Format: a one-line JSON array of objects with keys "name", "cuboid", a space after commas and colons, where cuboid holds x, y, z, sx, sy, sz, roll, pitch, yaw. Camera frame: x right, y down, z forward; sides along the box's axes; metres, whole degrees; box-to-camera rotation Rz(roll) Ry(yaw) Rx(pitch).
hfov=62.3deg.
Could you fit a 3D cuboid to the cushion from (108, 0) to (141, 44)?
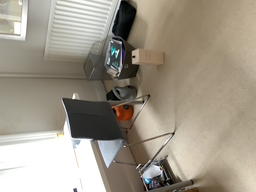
[{"name": "cushion", "cuboid": [-0.040, -0.920, 2.370, 0.240, 0.130, 0.600, 61, 139, 38]}]
